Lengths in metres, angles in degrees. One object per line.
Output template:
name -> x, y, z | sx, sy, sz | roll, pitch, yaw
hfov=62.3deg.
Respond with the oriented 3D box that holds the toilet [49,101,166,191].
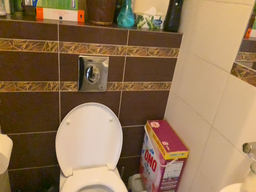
toilet -> -0.180, 0.510, 1.120 | 0.410, 0.810, 0.520 | -1, 27, -18
